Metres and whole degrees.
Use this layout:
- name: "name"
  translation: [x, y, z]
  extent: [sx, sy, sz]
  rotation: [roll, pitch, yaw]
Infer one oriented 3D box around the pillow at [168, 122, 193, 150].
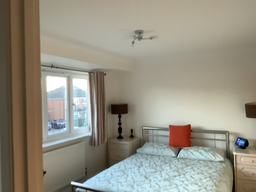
- name: "pillow"
  translation: [0.950, 0.710, 3.820]
  extent: [0.370, 0.420, 0.240]
  rotation: [-1, 10, 28]
